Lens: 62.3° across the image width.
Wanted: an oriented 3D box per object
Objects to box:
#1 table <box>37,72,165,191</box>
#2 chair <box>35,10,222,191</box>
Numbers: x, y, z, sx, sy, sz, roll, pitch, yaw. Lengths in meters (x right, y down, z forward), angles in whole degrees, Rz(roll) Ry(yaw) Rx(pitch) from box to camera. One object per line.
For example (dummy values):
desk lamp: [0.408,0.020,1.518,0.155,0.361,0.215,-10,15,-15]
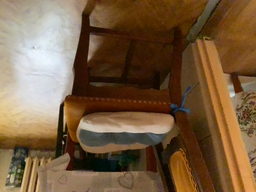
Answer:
table: [-0.240,0.460,1.650,0.640,0.770,1.030,5,151,-12]
chair: [-0.030,0.180,0.940,0.570,0.970,0.450,5,151,-12]
